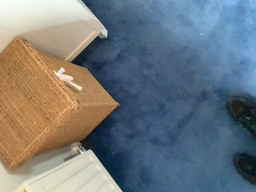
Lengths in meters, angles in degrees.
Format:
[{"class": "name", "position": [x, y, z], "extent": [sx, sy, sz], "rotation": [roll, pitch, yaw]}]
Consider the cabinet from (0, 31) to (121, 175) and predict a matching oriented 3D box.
[{"class": "cabinet", "position": [-0.320, 0.030, 0.930], "extent": [0.330, 0.500, 0.330], "rotation": [-42, 80, 9]}]
